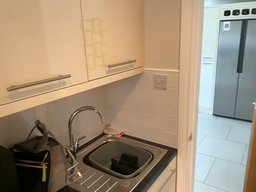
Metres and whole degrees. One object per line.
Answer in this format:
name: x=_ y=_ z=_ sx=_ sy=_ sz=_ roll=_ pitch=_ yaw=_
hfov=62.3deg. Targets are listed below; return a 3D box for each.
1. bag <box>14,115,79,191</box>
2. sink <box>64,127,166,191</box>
bag: x=-0.430 y=0.310 z=1.130 sx=0.280 sy=0.330 sz=0.160 roll=11 pitch=20 yaw=35
sink: x=-0.080 y=0.420 z=1.430 sx=0.540 sy=0.170 sz=0.410 roll=10 pitch=20 yaw=34
